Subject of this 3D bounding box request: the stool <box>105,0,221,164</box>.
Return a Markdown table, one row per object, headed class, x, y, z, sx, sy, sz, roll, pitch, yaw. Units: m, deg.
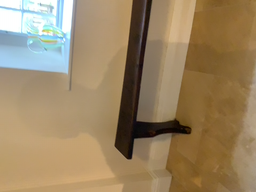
| class | x | y | z | sx | sy | sz | roll | pitch | yaw |
| --- | --- | --- | --- | --- | --- | --- | --- | --- | --- |
| stool | 0.220 | -0.270 | 1.340 | 0.250 | 0.520 | 1.350 | -149 | 65 | -62 |
